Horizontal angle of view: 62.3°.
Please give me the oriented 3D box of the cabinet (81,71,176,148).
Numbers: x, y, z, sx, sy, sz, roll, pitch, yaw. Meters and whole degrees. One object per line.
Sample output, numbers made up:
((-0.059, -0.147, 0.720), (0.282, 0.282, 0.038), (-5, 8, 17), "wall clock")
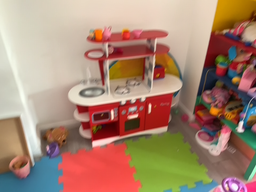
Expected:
((-0.010, 0.110, 2.040), (0.780, 0.500, 0.360), (-9, 35, -15), "cabinet")
